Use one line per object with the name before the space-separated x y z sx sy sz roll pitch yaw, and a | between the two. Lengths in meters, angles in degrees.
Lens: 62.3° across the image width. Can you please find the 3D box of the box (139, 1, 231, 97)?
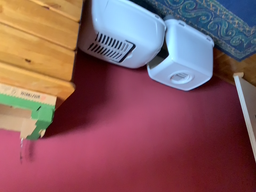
box | 0.400 -0.310 1.580 0.500 0.420 0.380 17 149 -28
